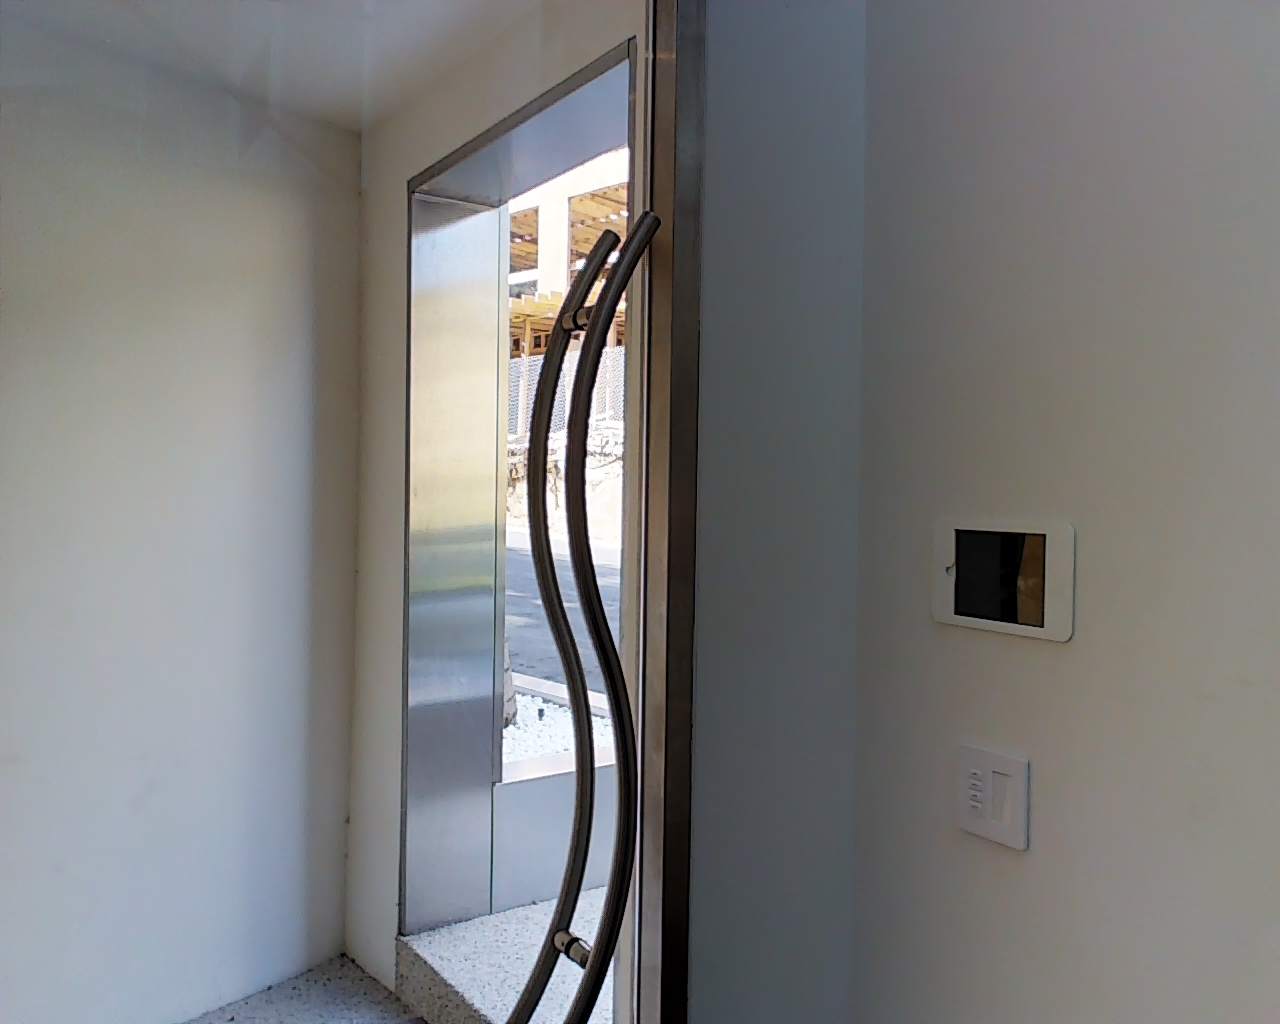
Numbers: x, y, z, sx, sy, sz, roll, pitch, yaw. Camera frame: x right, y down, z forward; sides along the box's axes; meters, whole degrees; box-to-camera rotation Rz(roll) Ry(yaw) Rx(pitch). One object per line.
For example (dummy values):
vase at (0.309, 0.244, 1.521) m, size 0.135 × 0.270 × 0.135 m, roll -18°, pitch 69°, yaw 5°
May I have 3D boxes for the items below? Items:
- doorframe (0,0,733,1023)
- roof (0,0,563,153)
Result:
doorframe at (-0.440, 0.300, 1.390) m, size 1.130 × 2.430 × 0.260 m, roll 1°, pitch 1°, yaw -30°
roof at (-1.020, -1.210, 2.580) m, size 1.350 × 0.060 × 1.500 m, roll 1°, pitch 1°, yaw -29°
